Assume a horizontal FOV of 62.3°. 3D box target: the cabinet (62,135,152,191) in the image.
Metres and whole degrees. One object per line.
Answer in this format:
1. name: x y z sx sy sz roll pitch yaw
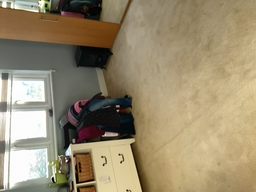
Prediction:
1. cabinet: -0.280 1.070 2.570 0.610 0.850 0.940 121 140 -48

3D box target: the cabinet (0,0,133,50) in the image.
1. cabinet: -0.980 -1.410 2.630 1.510 2.000 0.620 124 138 -50

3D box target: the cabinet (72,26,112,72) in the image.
1. cabinet: -0.650 -0.800 3.680 0.440 0.510 0.590 124 138 -50
